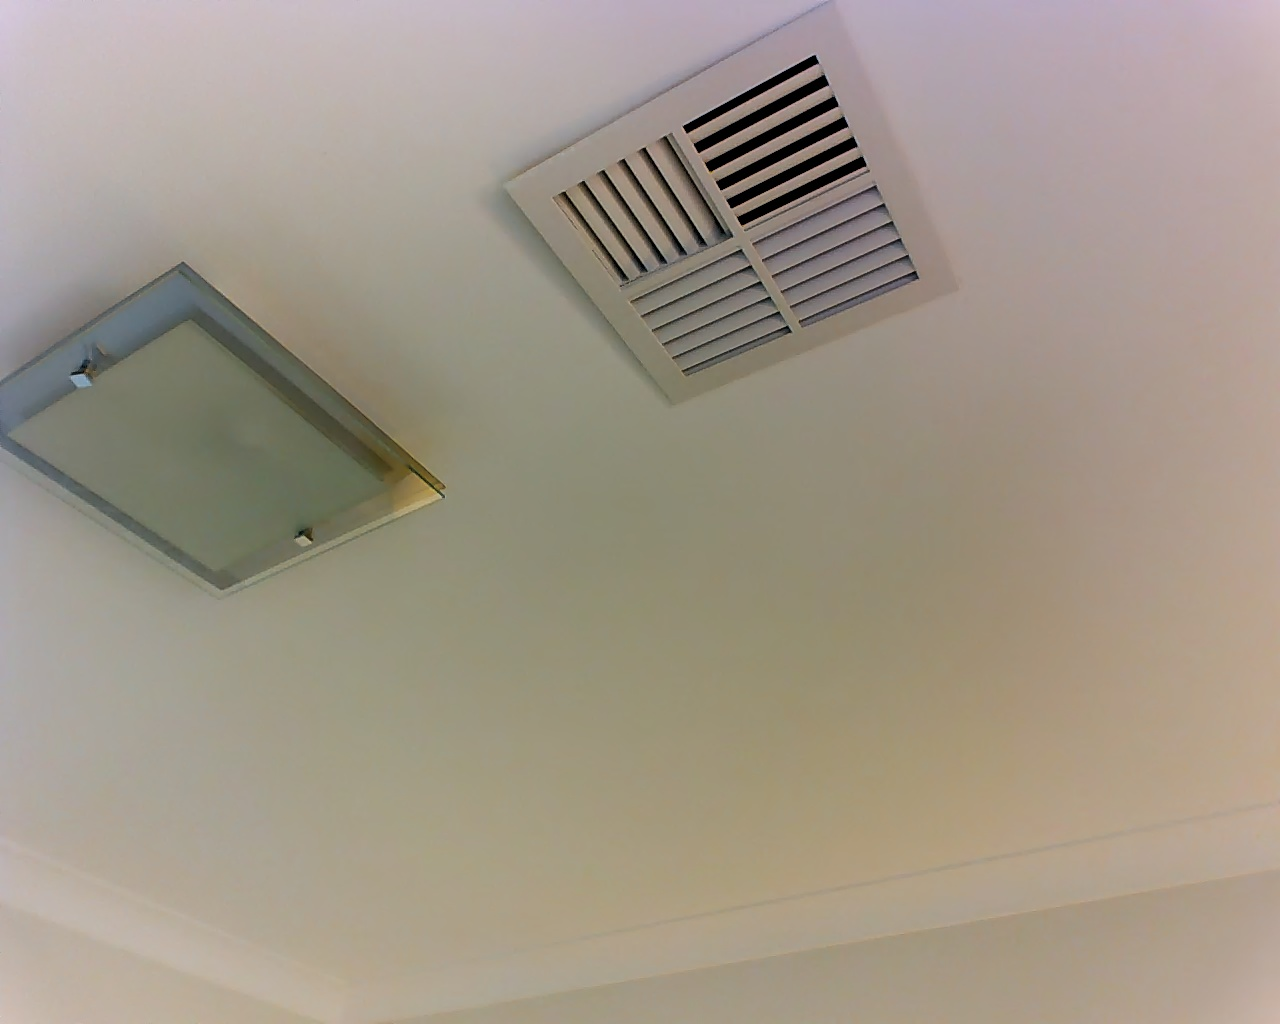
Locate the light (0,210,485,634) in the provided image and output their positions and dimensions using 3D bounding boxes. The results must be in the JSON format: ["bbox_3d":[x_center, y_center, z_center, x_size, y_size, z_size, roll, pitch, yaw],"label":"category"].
[{"bbox_3d":[-0.460,-0.070,1.230,0.360,0.130,0.430,-20,-46,23],"label":"light"}]
